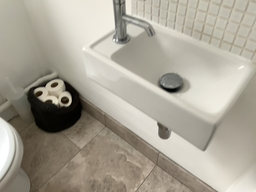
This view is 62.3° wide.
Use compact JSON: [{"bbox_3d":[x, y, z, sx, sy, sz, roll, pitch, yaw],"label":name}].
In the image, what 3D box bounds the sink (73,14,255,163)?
[{"bbox_3d":[0.080,-0.050,0.600,0.410,0.160,0.220,32,56,26],"label":"sink"}]
